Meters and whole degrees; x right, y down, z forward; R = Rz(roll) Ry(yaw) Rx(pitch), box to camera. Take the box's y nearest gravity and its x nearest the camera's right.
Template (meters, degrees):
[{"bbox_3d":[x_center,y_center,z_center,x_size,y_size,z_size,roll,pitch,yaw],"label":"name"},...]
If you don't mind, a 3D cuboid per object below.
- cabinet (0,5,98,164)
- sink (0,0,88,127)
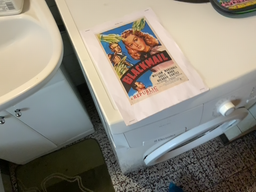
[{"bbox_3d":[-0.460,0.020,1.010,0.470,0.680,0.330,-23,67,-11],"label":"cabinet"},{"bbox_3d":[-0.460,-0.110,0.620,0.550,0.140,0.420,-23,67,-11],"label":"sink"}]
